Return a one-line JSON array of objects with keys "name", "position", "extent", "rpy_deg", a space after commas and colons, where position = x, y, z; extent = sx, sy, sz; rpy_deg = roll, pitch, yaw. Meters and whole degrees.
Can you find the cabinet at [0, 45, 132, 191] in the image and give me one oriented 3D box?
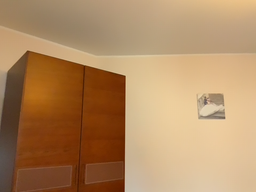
[{"name": "cabinet", "position": [-0.560, 0.840, 1.810], "extent": [0.960, 2.200, 0.680], "rpy_deg": [10, -14, -40]}]
